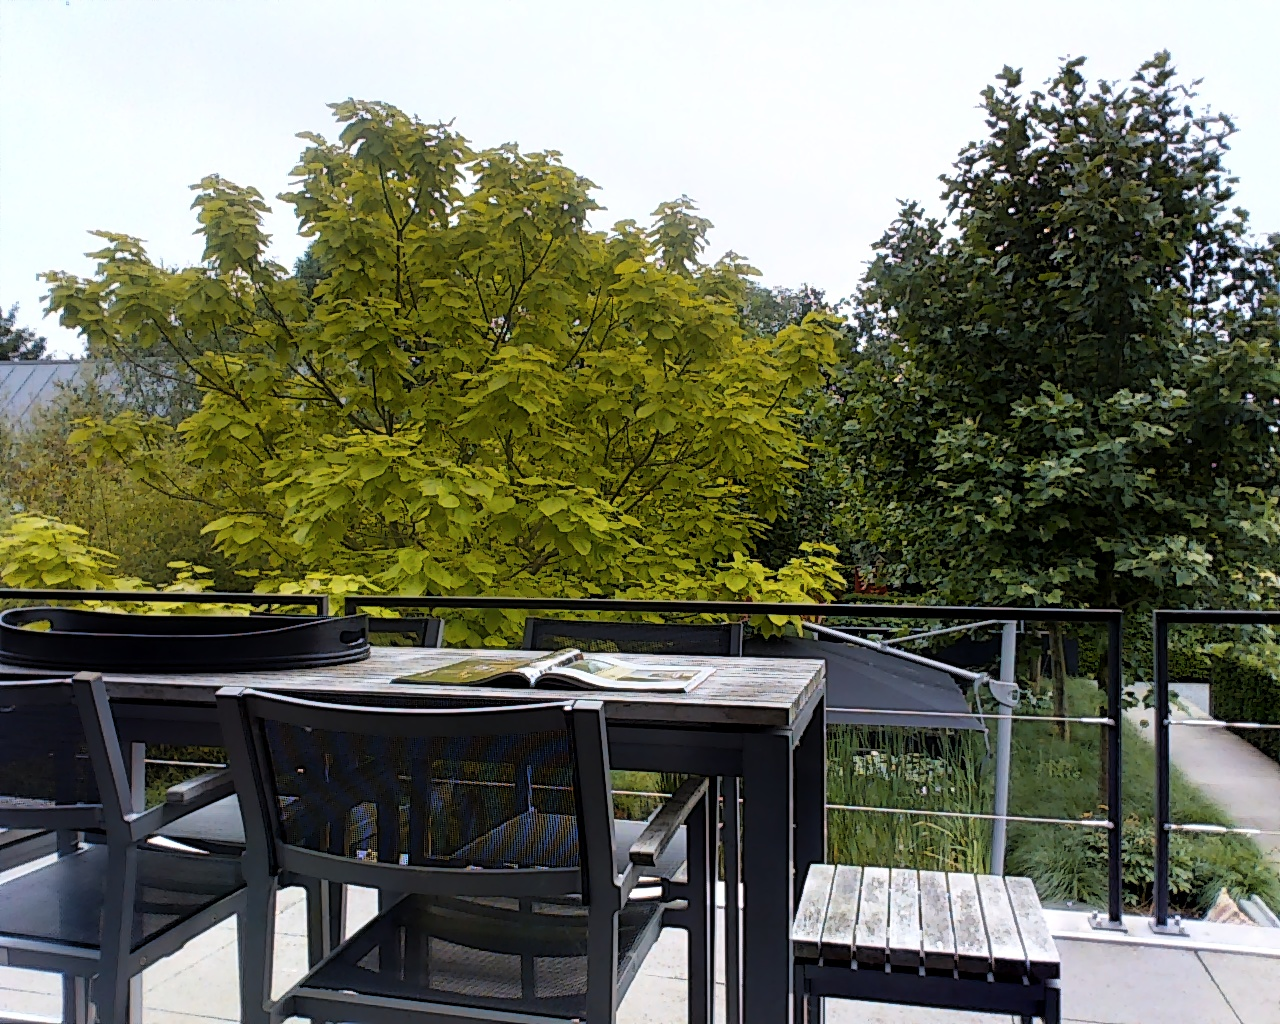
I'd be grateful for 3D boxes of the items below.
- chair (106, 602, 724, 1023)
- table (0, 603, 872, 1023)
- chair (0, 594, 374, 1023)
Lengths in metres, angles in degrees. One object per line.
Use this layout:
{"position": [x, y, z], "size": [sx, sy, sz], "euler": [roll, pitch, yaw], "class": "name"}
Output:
{"position": [-0.240, 0.720, 1.450], "size": [0.600, 1.140, 0.620], "euler": [0, -1, 15], "class": "chair"}
{"position": [-0.450, 0.770, 1.790], "size": [1.600, 1.150, 0.760], "euler": [0, -1, 15], "class": "table"}
{"position": [-0.830, 0.720, 1.640], "size": [0.610, 1.140, 0.590], "euler": [0, -1, 15], "class": "chair"}
